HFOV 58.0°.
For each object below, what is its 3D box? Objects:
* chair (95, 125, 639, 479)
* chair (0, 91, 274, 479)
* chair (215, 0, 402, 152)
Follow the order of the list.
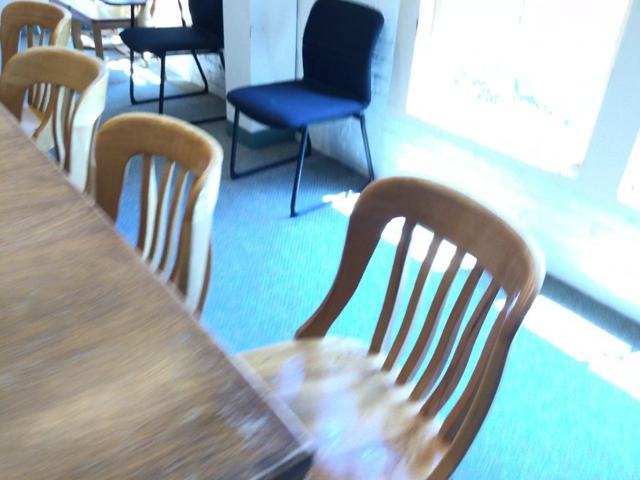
[{"bbox_3d":[0.040,0.320,1.150,0.610,0.800,0.690,-20,39,-32],"label":"chair"},{"bbox_3d":[-0.470,0.150,1.390,0.490,0.800,0.550,-20,39,-32],"label":"chair"},{"bbox_3d":[-0.060,-0.760,2.550,0.600,0.470,0.510,-20,39,-32],"label":"chair"}]
